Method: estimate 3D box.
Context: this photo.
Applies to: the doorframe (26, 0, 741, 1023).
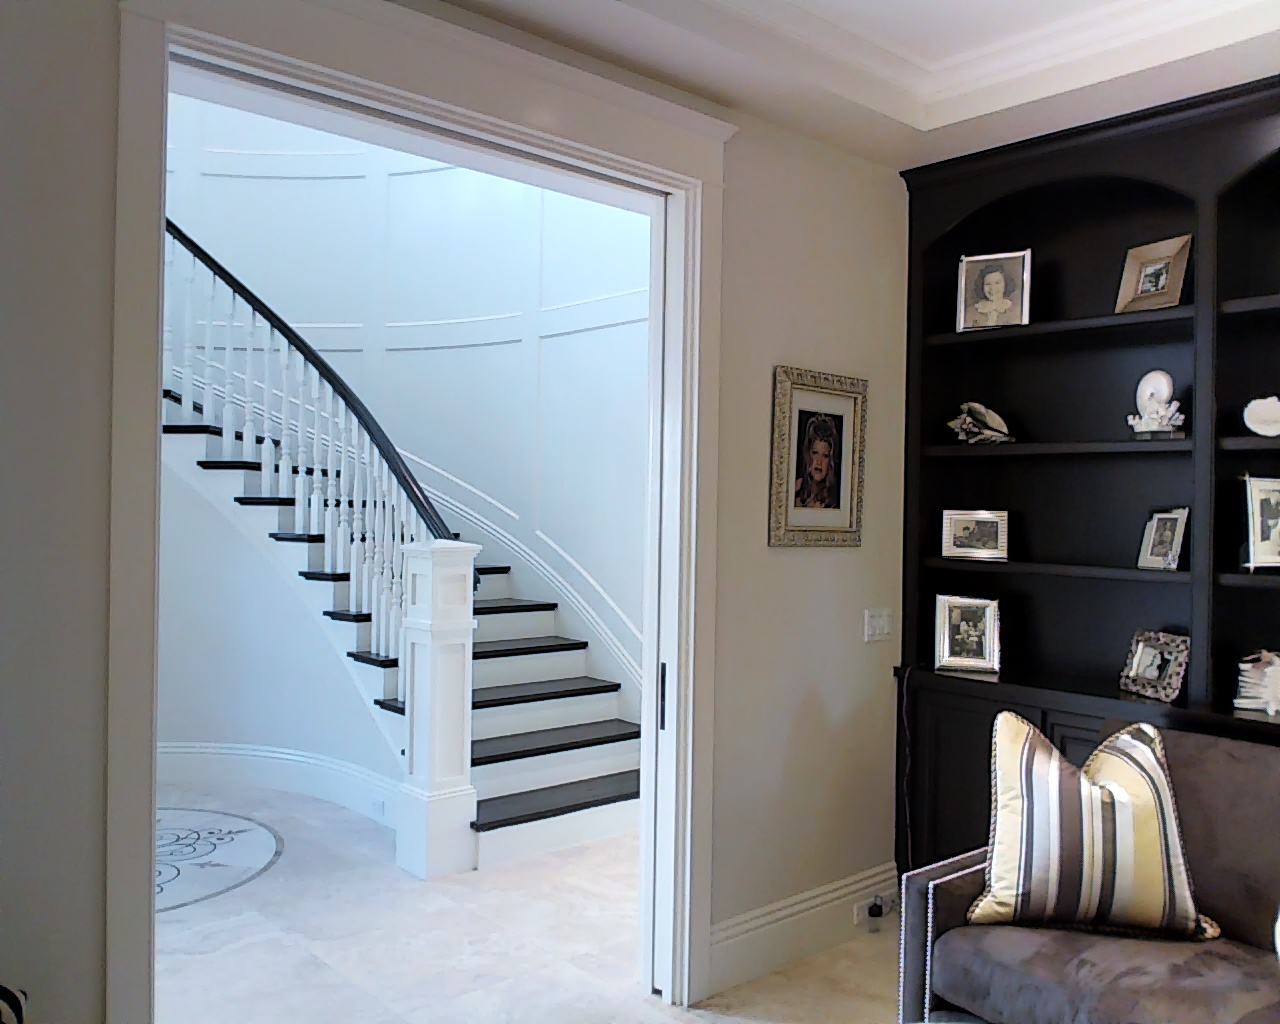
[{"bbox_3d":[-0.480,0.120,2.760,1.890,2.681,0.170,1,1,-41],"label":"doorframe"}]
